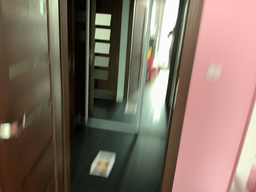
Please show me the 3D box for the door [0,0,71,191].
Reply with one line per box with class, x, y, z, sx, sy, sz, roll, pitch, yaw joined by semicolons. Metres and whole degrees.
door;-0.500;0.080;1.160;0.090;2.270;0.890;4;19;0
